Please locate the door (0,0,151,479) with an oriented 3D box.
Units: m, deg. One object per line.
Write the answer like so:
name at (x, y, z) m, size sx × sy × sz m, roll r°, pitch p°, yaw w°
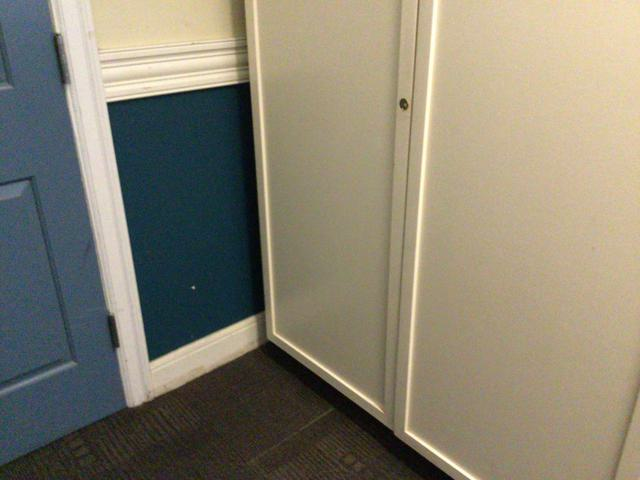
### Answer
door at (-0.970, -0.050, 1.390) m, size 0.890 × 1.680 × 0.120 m, roll -18°, pitch 28°, yaw -34°
